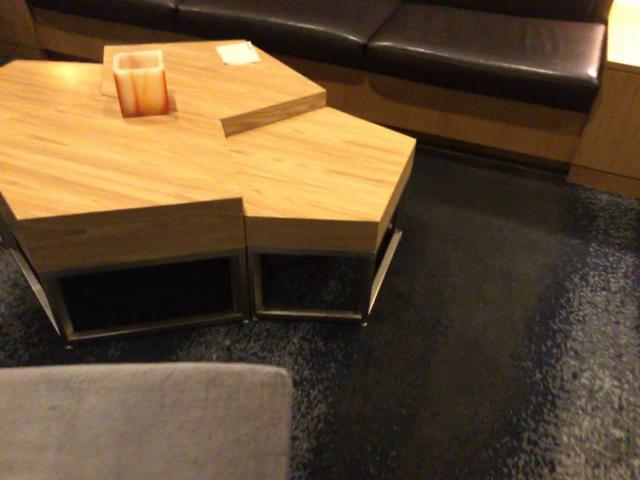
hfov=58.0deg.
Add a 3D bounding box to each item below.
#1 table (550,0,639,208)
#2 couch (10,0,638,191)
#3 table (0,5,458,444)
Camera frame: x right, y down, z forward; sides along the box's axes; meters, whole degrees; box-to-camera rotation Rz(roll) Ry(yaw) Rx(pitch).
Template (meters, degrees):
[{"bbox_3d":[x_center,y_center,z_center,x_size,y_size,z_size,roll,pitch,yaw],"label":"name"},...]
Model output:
[{"bbox_3d":[1.350,-0.560,2.250,0.650,0.520,0.850,15,41,18],"label":"table"},{"bbox_3d":[-0.130,-1.070,2.600,2.710,0.880,0.690,15,41,18],"label":"couch"},{"bbox_3d":[-0.510,-0.250,1.930,1.600,0.500,1.220,15,41,18],"label":"table"}]
